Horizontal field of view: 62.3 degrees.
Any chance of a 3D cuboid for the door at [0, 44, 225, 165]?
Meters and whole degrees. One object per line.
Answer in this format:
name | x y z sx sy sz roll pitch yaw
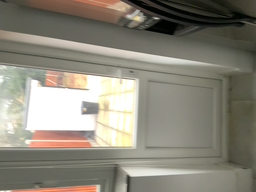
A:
door | -0.060 0.110 1.580 0.080 1.920 0.720 173 101 -69
